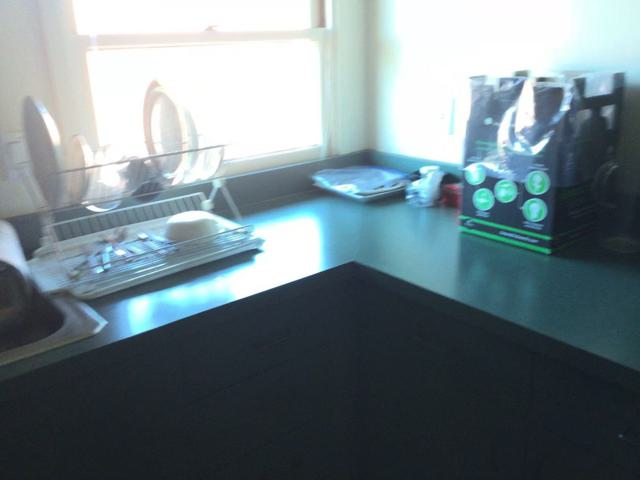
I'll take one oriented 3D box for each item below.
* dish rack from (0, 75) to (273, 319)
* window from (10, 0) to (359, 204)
[{"bbox_3d":[-0.460,-0.150,1.360,0.570,0.440,0.360,-14,20,-36],"label":"dish rack"},{"bbox_3d":[-0.320,-0.490,1.700,0.980,0.600,0.190,-14,20,-36],"label":"window"}]
